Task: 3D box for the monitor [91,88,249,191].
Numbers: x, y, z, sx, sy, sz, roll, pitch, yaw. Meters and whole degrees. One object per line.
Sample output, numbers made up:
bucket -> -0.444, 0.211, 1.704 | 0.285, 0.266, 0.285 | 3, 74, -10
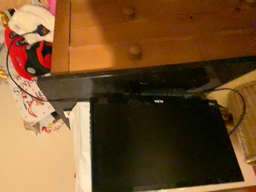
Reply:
monitor -> 0.120, 0.130, 0.660 | 0.450, 0.300, 0.060 | 3, 150, -18
